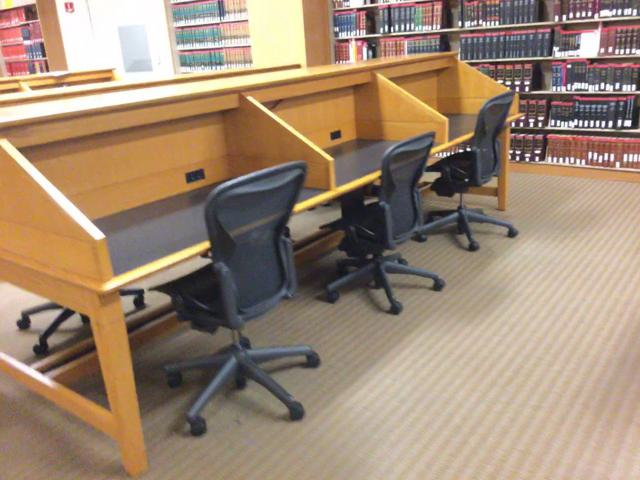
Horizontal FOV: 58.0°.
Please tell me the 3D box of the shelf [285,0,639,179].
[{"bbox_3d":[2.800,-1.470,4.760,7.070,1.820,0.670,9,23,33],"label":"shelf"}]
